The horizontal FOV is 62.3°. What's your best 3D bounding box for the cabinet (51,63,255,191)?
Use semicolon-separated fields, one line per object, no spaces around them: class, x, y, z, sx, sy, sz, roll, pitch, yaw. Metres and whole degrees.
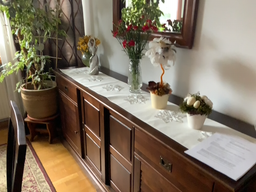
cabinet;-0.020;0.360;1.740;0.510;0.870;1.960;-14;25;-34

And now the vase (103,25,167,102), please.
vase;0.040;-0.270;1.600;0.290;0.490;0.370;-14;25;-35

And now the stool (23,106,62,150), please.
stool;-1.000;0.360;2.480;0.310;0.330;0.310;-14;25;-34
